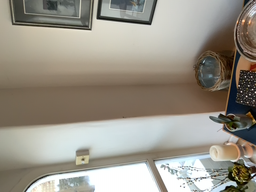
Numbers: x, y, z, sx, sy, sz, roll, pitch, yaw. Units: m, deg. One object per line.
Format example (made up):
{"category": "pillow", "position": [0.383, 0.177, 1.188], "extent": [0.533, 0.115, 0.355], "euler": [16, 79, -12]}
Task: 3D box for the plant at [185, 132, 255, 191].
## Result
{"category": "plant", "position": [0.790, 0.540, 1.510], "extent": [0.350, 0.560, 0.390], "euler": [-119, 34, -50]}
